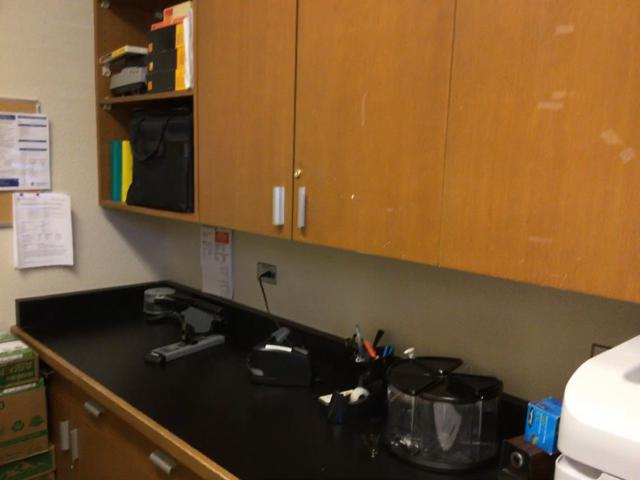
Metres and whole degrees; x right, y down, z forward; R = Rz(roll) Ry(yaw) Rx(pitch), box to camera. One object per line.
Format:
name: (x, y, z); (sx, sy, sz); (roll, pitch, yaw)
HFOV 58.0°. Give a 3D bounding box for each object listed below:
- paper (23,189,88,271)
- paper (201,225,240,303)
paper: (-1.010, -0.040, 2.210); (0.220, 0.300, 0.040); (-2, 7, -42)
paper: (-0.400, 0.090, 2.310); (0.030, 0.280, 0.230); (-6, 10, -42)
